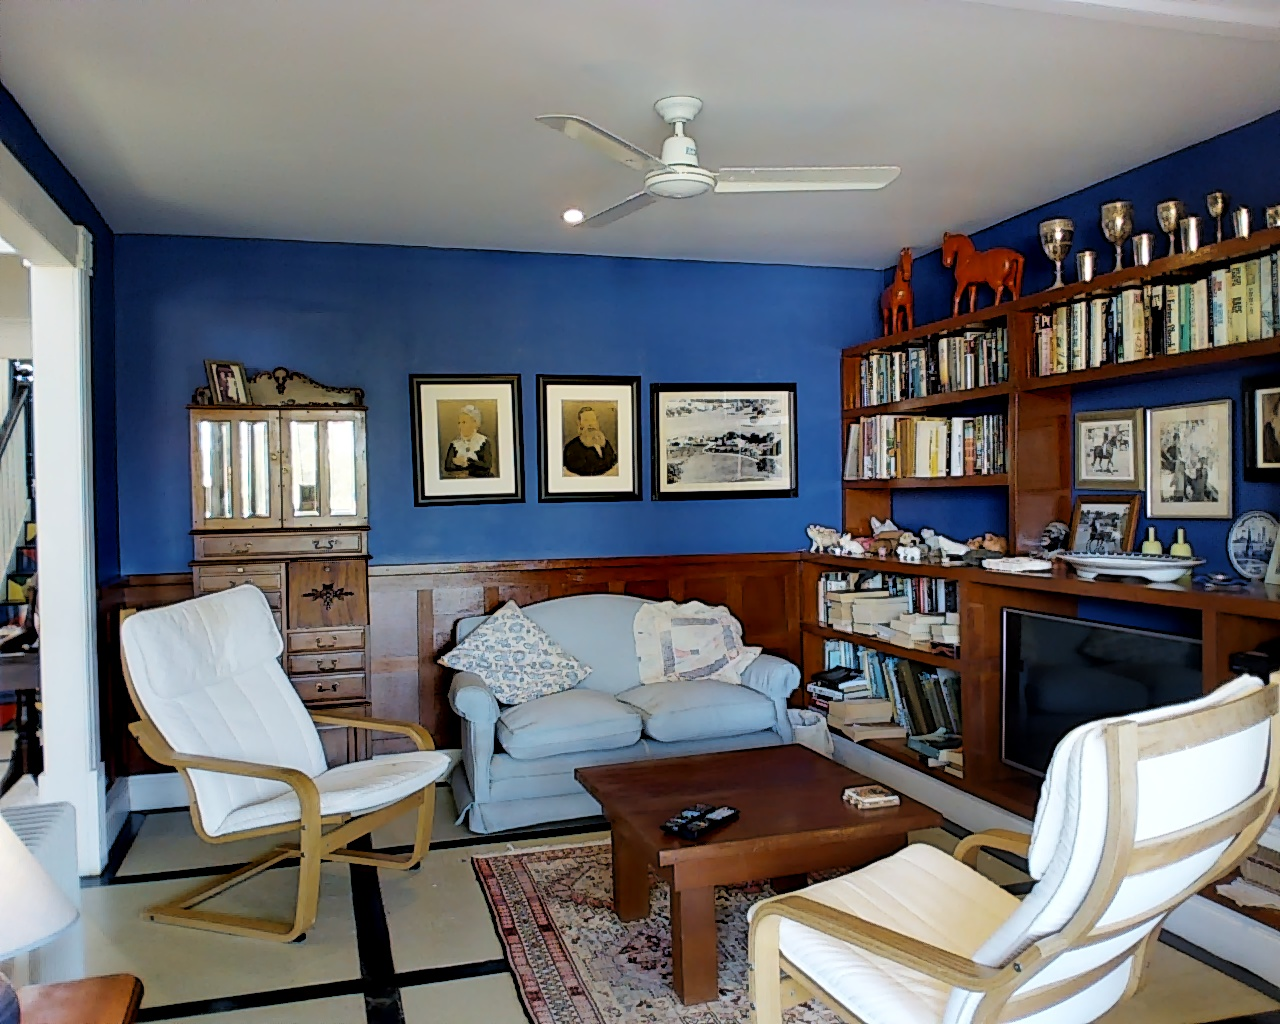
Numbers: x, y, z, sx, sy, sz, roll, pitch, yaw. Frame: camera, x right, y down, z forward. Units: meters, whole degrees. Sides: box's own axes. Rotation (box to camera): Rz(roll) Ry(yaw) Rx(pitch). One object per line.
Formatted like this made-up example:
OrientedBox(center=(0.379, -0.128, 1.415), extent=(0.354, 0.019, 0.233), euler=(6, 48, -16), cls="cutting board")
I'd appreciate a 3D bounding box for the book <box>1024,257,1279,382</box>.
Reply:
OrientedBox(center=(1.669, -0.590, 3.480), extent=(0.200, 0.220, 1.120), euler=(-2, 1, -15), cls="book")
